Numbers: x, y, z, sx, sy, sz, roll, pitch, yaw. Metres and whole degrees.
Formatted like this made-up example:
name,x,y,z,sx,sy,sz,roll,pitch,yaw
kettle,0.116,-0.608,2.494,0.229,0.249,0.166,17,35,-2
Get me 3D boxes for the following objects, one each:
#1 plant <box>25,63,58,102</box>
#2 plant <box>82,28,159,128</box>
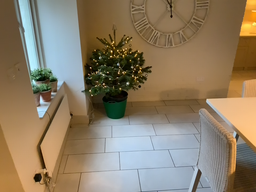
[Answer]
name,x,y,z,sx,sy,sz,roll,pitch,yaw
plant,-1.000,-0.180,2.510,0.220,0.270,0.580,-4,24,-9
plant,-0.120,-0.300,3.190,0.940,1.290,0.780,-2,24,-5
